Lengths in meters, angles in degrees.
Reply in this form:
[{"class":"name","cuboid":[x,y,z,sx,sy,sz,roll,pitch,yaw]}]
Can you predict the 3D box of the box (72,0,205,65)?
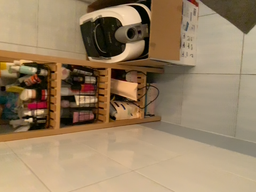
[{"class":"box","cuboid":[0.050,-0.430,1.360,0.620,0.550,0.390,8,96,47]}]
